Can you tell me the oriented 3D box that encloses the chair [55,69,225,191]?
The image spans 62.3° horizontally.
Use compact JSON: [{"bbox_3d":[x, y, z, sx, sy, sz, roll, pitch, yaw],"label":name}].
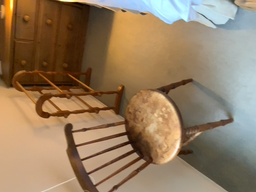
[{"bbox_3d":[0.080,0.190,1.260,0.480,0.770,0.530,37,119,38],"label":"chair"}]
